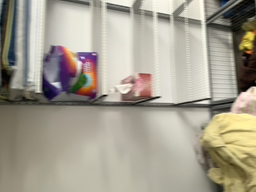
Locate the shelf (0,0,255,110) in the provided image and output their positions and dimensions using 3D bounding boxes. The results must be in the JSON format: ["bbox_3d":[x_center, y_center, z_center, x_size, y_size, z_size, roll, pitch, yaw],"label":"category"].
[{"bbox_3d":[0.020,-0.590,1.160,0.440,1.960,1.290,158,112,-66],"label":"shelf"}]
